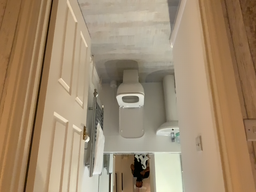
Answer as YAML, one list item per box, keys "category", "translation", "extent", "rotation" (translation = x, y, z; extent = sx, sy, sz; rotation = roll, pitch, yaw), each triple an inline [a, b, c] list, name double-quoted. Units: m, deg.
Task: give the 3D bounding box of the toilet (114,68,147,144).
- category: "toilet"
  translation: [0.030, 0.170, 2.850]
  extent: [0.370, 0.860, 0.670]
  rotation: [-1, 160, 0]
